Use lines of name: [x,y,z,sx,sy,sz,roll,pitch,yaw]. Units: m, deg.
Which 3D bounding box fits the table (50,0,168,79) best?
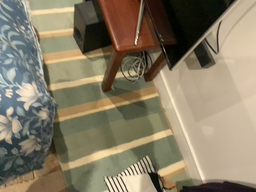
table: [-0.180,-0.540,1.280,0.420,0.530,0.620,-18,75,-22]
